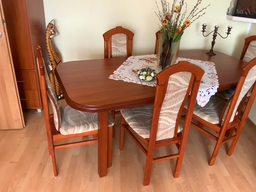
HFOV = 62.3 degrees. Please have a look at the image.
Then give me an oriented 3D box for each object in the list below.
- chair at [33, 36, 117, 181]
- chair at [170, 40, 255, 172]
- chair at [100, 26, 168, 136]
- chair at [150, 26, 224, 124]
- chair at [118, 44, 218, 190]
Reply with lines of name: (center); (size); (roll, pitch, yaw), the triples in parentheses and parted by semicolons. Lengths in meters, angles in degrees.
chair: (-0.420, 0.090, 1.720); (0.490, 1.030, 0.440); (-8, 30, -22)
chair: (0.810, 0.070, 1.950); (0.450, 1.000, 0.520); (-17, 34, -34)
chair: (0.010, -0.180, 2.310); (0.450, 1.020, 0.520); (-13, 32, -29)
chair: (0.670, -0.270, 2.570); (0.450, 1.010, 0.520); (-18, 35, -36)
chair: (0.240, 0.150, 1.730); (0.450, 1.000, 0.520); (-8, 30, -22)
